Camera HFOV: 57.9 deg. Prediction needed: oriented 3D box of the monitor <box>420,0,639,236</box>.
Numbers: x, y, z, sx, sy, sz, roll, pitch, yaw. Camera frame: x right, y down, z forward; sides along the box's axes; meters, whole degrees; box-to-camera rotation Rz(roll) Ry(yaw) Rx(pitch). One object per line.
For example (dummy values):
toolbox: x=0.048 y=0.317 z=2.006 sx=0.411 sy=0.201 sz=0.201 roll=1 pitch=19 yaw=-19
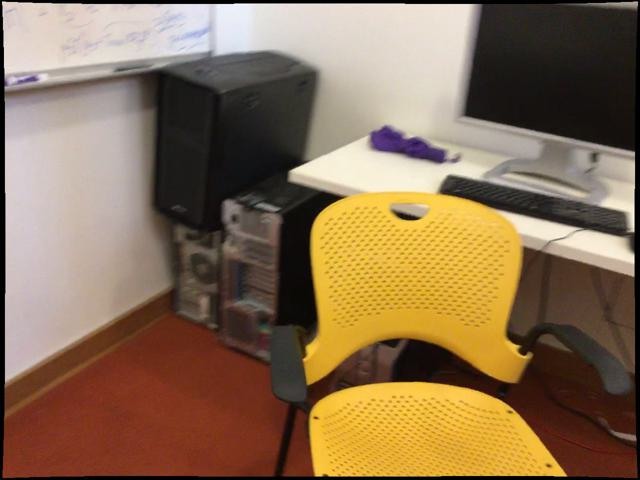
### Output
monitor: x=0.649 y=-0.390 z=1.570 sx=0.580 sy=0.520 sz=0.340 roll=20 pitch=30 yaw=22

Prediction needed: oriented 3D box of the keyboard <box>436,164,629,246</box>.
keyboard: x=0.539 y=-0.100 z=1.480 sx=0.450 sy=0.030 sz=0.170 roll=20 pitch=30 yaw=22
